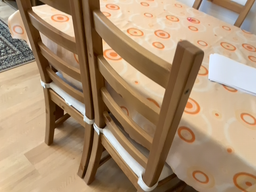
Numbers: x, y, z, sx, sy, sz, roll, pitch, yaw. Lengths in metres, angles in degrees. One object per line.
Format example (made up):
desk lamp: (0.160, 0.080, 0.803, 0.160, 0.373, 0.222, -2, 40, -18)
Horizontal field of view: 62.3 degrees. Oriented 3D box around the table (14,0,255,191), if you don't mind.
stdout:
table: (0.300, 0.040, 1.220, 1.490, 0.760, 0.990, 36, 46, 22)
